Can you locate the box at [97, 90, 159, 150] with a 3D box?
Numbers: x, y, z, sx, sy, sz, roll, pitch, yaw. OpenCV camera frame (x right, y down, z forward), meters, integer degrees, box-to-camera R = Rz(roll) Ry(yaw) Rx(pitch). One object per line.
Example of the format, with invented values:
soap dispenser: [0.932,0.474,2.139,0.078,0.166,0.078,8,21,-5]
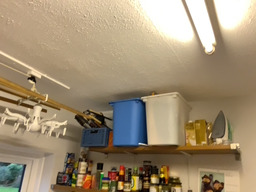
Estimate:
box: [0.020,0.230,1.810,0.360,0.400,0.390,-9,-24,30]

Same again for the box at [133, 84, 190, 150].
box: [0.270,0.190,1.660,0.300,0.410,0.370,-9,-24,30]
